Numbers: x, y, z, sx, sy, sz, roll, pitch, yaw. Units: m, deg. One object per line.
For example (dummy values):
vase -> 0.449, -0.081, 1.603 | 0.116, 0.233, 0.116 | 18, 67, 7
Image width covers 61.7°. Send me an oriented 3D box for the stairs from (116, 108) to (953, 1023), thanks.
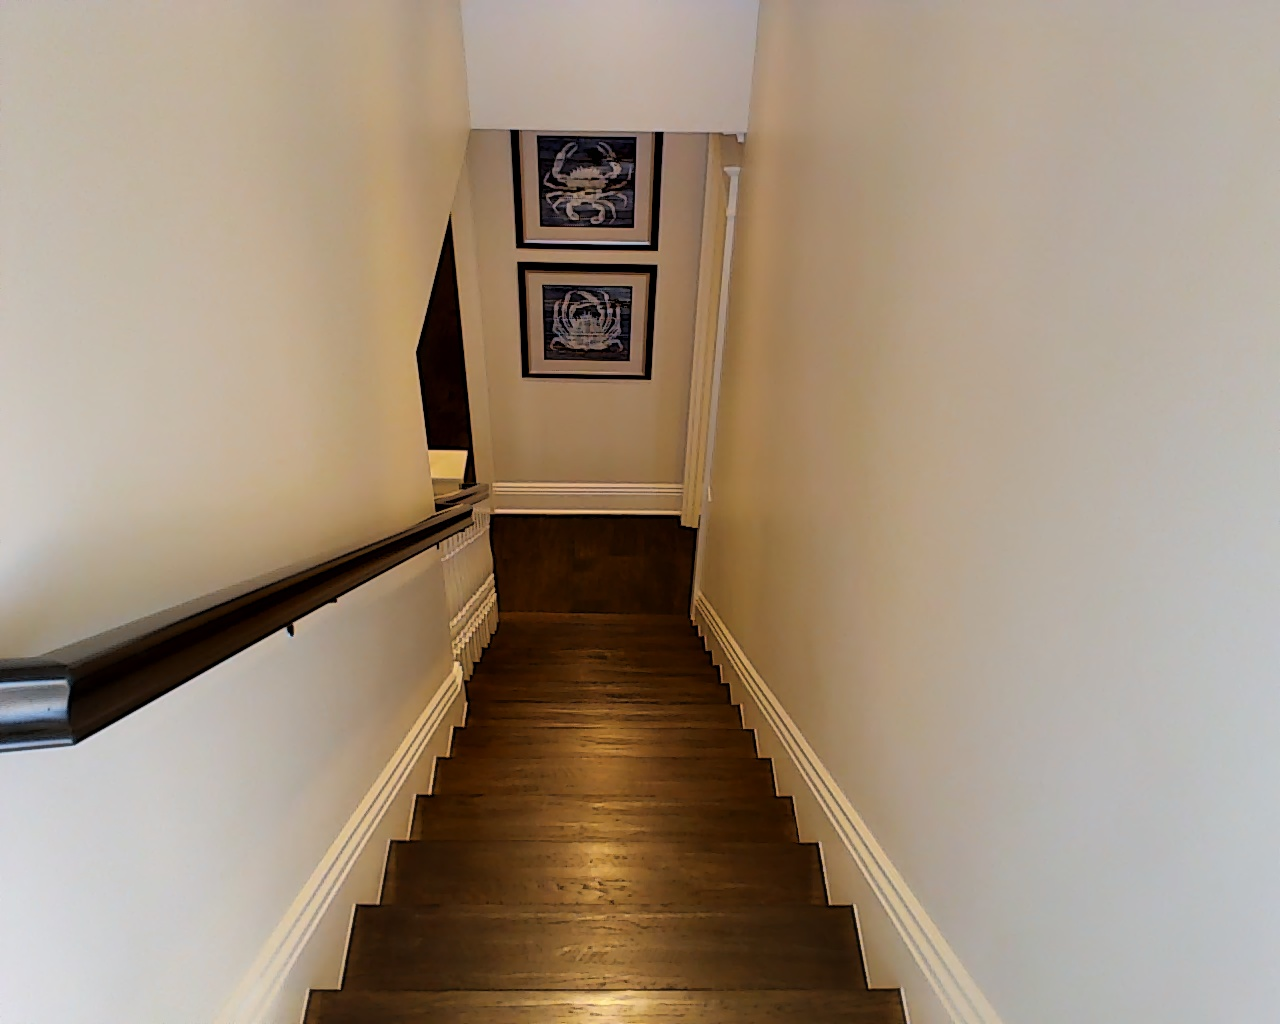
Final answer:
stairs -> -0.170, 0.670, 3.430 | 1.130, 2.640, 3.240 | 1, 42, -1
